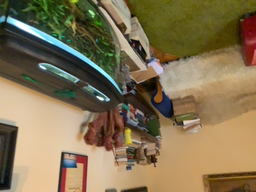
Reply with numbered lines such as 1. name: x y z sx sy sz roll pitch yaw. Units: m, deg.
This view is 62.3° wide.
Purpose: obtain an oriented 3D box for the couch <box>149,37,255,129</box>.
1. couch: 1.410 -0.160 2.590 2.150 0.770 0.670 -11 158 20

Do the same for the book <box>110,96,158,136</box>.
1. book: 0.120 0.310 2.770 0.170 0.270 1.100 -12 158 24
